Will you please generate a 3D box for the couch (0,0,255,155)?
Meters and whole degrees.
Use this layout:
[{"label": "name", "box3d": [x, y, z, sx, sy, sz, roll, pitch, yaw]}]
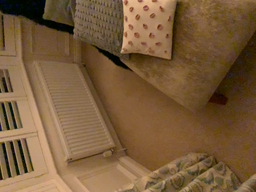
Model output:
[{"label": "couch", "box3d": [-0.110, -0.510, 1.230, 1.420, 0.870, 0.640, 45, 125, 36]}]
